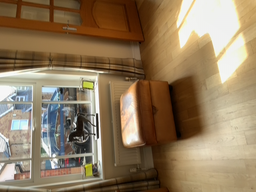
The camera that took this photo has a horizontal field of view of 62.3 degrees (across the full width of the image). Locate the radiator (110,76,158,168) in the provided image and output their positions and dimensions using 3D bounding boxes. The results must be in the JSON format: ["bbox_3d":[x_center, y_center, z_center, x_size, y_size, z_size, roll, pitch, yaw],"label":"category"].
[{"bbox_3d":[0.060,0.290,2.550,0.160,0.460,1.050,143,125,-64],"label":"radiator"}]

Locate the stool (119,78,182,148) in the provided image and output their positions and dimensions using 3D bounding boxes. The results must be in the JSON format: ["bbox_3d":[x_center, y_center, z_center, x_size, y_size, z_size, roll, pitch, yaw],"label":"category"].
[{"bbox_3d":[0.200,0.190,2.170,0.440,0.430,0.610,141,126,-63],"label":"stool"}]

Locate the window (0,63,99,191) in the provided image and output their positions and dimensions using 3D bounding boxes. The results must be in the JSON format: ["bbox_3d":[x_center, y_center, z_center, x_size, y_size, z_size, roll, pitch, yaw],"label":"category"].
[{"bbox_3d":[-1.080,0.340,2.340,0.300,1.410,1.350,146,122,-65],"label":"window"}]
